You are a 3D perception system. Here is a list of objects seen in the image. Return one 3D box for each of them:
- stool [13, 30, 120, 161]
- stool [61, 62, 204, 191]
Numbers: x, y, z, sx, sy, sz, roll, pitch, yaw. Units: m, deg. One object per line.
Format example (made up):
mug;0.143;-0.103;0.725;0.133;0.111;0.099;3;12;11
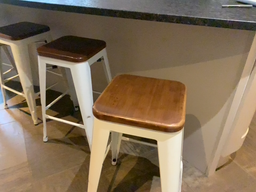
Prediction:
stool;-0.330;-0.020;1.390;0.420;0.660;0.430;13;35;17
stool;0.050;0.270;0.950;0.410;0.670;0.430;11;34;14
